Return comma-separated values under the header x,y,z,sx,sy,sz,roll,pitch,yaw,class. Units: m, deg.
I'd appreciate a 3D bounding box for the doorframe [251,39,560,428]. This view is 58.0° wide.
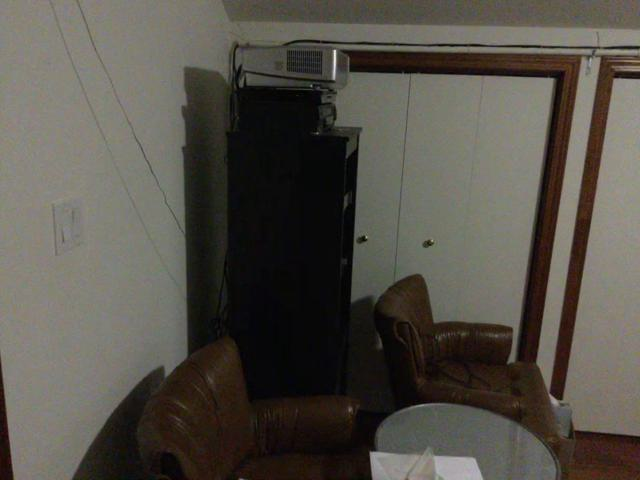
x,y,z,sx,sy,sz,roll,pitch,yaw,class
0.330,0.010,2.500,1.190,1.630,0.150,1,13,6,doorframe

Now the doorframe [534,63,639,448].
x,y,z,sx,sy,sz,roll,pitch,yaw,class
1.720,0.110,2.330,1.510,1.590,0.130,1,13,6,doorframe

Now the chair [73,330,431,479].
x,y,z,sx,sy,sz,roll,pitch,yaw,class
-0.100,0.760,1.530,0.700,0.810,0.680,1,13,6,chair

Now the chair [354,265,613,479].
x,y,z,sx,sy,sz,roll,pitch,yaw,class
0.550,0.610,2.160,0.730,0.820,0.780,2,14,12,chair

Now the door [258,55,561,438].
x,y,z,sx,sy,sz,roll,pitch,yaw,class
0.350,0.070,2.530,1.190,1.650,0.100,1,13,6,door
